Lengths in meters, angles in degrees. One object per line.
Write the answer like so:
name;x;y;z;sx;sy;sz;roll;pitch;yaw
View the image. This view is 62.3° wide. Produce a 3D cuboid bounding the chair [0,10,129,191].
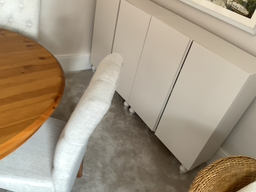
chair;-0.400;0.200;1.040;0.550;0.960;0.490;15;36;-2
